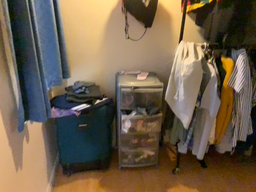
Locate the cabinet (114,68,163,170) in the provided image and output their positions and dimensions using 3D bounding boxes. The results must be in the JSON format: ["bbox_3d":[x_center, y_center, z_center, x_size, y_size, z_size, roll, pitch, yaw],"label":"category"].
[{"bbox_3d":[0.070,0.210,2.010,0.360,0.850,0.400,-2,24,-7],"label":"cabinet"}]

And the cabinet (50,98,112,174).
[{"bbox_3d":[-0.400,0.360,1.990,0.480,0.570,0.380,-2,24,-5],"label":"cabinet"}]
